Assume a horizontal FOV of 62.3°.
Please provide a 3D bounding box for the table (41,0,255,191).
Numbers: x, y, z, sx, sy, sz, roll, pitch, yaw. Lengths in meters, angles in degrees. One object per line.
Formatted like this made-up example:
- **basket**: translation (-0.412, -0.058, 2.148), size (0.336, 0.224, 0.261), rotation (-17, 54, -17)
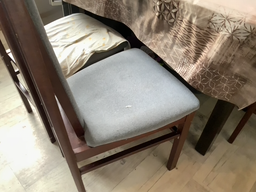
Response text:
- **table**: translation (0.230, -0.370, 1.240), size (1.320, 0.780, 0.820), rotation (36, 53, 28)
